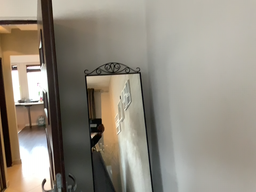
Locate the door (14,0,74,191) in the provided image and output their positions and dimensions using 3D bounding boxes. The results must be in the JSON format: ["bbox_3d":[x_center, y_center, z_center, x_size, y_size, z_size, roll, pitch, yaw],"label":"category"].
[{"bbox_3d":[-0.440,0.480,1.350,0.150,1.900,0.910,-4,6,-15],"label":"door"}]
